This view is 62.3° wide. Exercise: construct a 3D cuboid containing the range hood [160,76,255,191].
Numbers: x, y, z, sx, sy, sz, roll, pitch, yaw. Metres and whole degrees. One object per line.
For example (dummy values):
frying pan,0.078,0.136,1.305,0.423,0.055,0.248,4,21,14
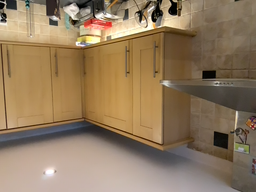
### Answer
range hood,0.540,0.220,1.040,0.450,0.620,0.600,-5,-172,-38
